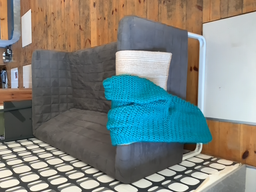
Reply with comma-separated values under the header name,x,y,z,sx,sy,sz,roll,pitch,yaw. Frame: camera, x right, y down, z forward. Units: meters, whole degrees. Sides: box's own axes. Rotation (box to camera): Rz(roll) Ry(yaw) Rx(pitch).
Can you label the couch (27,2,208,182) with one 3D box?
name,x,y,z,sx,sy,sz,roll,pitch,yaw
couch,-0.170,-0.050,1.570,1.230,0.700,0.750,4,95,47
